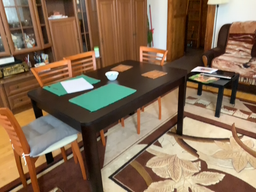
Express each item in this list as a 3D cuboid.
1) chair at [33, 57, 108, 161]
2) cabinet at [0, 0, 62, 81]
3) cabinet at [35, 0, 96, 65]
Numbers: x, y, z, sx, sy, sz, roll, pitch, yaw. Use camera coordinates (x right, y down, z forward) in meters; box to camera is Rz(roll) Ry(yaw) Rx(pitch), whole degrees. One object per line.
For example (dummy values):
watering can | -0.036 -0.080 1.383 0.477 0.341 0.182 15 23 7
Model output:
chair | -0.570 0.110 2.210 0.470 0.890 0.430 17 31 37
cabinet | -1.580 -1.130 2.960 0.440 1.600 0.890 19 32 39
cabinet | -1.040 -1.420 3.540 0.360 1.600 0.790 19 32 39
